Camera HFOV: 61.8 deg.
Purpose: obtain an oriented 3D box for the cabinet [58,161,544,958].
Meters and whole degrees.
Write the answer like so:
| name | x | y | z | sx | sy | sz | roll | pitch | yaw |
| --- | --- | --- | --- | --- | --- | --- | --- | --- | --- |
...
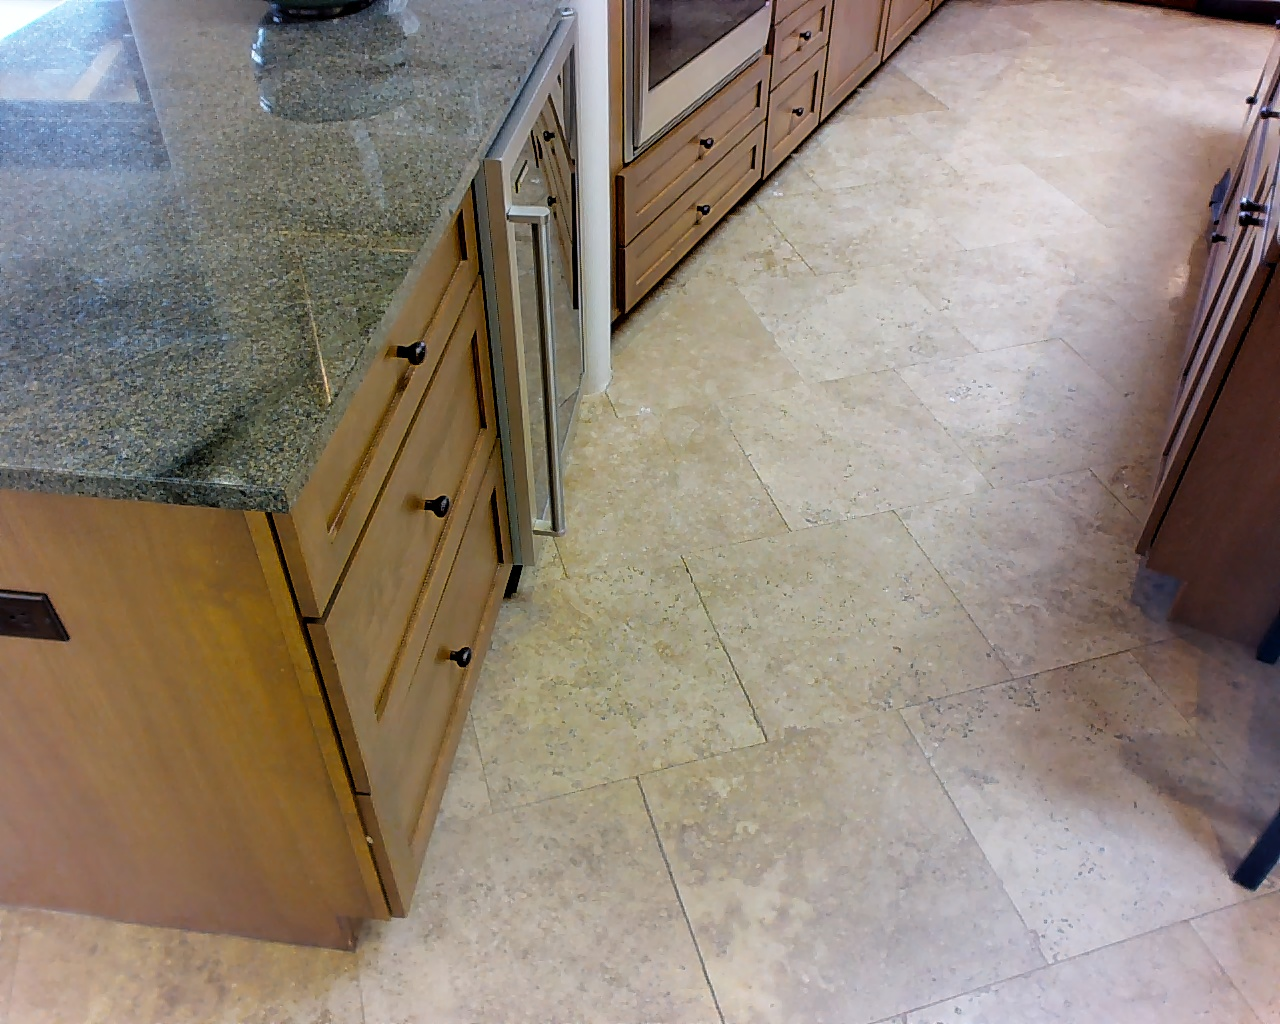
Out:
| name | x | y | z | sx | sy | sz | roll | pitch | yaw |
| --- | --- | --- | --- | --- | --- | --- | --- | --- | --- |
| cabinet | -0.340 | 0.070 | 1.440 | 0.260 | 0.820 | 0.670 | 4 | 42 | 5 |
